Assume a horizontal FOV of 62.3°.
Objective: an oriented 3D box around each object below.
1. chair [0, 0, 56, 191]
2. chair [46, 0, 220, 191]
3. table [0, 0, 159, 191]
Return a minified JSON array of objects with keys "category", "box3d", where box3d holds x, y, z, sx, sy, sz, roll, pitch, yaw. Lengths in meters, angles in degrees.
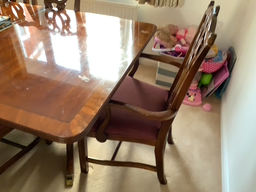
[{"category":"chair","box3d":[-0.840,0.030,1.070,0.520,0.980,0.590,14,39,13]},{"category":"chair","box3d":[0.060,0.000,1.200,0.590,0.970,0.590,14,39,13]},{"category":"table","box3d":[-1.000,-0.150,1.500,2.130,0.740,1.160,15,39,14]}]
